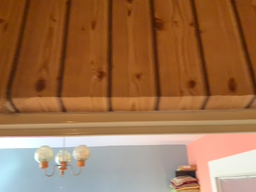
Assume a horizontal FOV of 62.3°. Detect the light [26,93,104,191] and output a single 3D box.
[{"bbox_3d":[-0.610,0.520,2.260,0.460,0.590,0.900,-7,-112,17],"label":"light"}]
